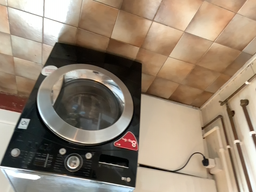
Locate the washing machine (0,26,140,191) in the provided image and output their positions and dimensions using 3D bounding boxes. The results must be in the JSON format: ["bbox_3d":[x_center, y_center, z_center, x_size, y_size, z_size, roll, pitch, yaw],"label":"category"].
[{"bbox_3d":[-0.340,0.200,1.420,0.590,0.850,0.810,13,141,-11],"label":"washing machine"}]
